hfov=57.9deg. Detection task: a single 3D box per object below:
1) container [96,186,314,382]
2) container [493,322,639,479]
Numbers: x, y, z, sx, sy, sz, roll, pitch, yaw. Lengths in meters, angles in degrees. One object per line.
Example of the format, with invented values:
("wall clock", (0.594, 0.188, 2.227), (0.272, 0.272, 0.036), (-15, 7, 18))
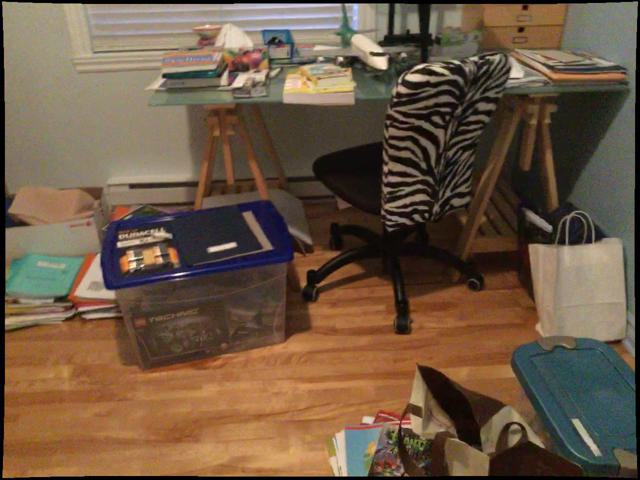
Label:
("container", (-0.370, 0.120, 1.920), (0.599, 0.360, 0.460), (-8, 32, -11))
("container", (0.659, 0.460, 1.390), (0.310, 0.270, 0.460), (-3, 32, -2))
